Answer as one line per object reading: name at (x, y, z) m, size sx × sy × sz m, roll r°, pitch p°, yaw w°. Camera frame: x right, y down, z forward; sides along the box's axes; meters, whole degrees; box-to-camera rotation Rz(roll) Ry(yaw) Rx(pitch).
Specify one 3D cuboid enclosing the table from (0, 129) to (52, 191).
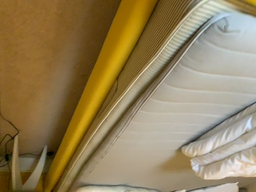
table at (-0.830, 0.560, 1.650) m, size 0.360 × 0.460 × 0.350 m, roll 10°, pitch 140°, yaw -24°
